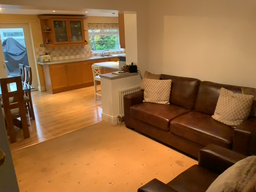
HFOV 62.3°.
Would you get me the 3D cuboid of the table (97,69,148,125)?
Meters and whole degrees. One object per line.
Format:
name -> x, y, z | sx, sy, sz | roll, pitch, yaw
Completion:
table -> -0.090, -0.020, 4.080 | 0.750, 0.850, 0.550 | -15, 21, -37
